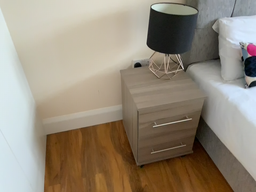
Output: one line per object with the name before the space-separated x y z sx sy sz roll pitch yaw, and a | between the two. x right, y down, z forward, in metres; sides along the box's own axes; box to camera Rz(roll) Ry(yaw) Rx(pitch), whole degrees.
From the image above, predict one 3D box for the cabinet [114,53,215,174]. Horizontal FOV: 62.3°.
cabinet | 0.190 0.100 1.450 0.440 0.550 0.520 -10 38 -11
